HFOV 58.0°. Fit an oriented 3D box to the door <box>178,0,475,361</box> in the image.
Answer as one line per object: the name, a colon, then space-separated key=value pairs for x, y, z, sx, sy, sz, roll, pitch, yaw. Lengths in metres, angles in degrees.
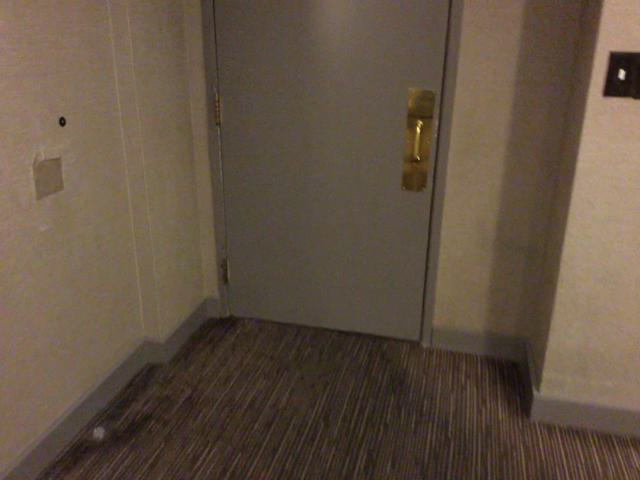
door: x=0.010 y=-0.670 z=2.270 sx=1.130 sy=2.290 sz=0.160 roll=4 pitch=15 yaw=15
